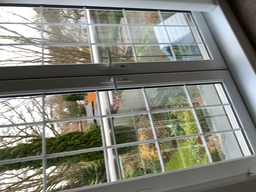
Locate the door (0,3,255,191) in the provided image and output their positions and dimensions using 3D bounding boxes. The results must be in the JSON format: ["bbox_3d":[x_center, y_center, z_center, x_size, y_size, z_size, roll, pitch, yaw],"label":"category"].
[{"bbox_3d":[0.000,-0.080,1.530,0.050,2.030,1.430,119,143,-62],"label":"door"}]
